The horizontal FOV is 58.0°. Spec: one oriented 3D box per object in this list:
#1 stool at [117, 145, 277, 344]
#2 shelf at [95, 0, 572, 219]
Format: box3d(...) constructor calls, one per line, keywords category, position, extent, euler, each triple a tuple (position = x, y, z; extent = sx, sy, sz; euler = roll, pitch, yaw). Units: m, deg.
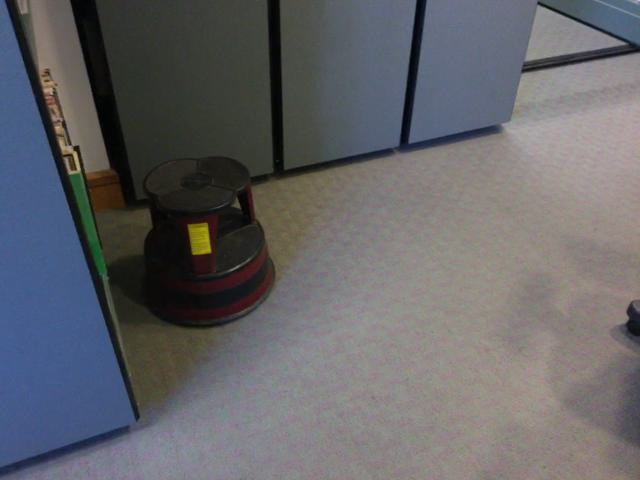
box3d(category="stool", position=(-0.350, 0.000, 1.670), extent=(0.350, 0.380, 0.360), euler=(-12, 39, -20))
box3d(category="shelf", position=(0.090, -0.970, 2.040), extent=(1.680, 1.470, 0.510), euler=(-12, 39, -20))
